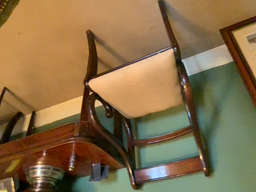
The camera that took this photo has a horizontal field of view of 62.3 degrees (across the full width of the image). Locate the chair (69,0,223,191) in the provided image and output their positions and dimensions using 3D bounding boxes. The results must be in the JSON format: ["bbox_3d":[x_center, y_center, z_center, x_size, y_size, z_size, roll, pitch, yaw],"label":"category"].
[{"bbox_3d":[0.100,-0.010,1.210,0.510,0.870,0.550,-19,139,19],"label":"chair"}]

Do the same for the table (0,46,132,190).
[{"bbox_3d":[-0.470,0.180,1.510,0.860,0.710,0.410,-19,139,19],"label":"table"}]
